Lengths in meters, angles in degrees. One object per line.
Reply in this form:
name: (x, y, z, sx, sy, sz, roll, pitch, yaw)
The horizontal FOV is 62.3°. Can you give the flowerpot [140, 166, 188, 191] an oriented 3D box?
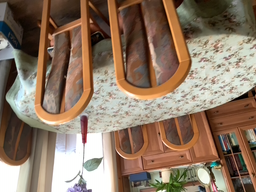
flowerpot: (0.560, 1.330, 3.260, 0.610, 0.350, 0.460, -14, 152, 14)
